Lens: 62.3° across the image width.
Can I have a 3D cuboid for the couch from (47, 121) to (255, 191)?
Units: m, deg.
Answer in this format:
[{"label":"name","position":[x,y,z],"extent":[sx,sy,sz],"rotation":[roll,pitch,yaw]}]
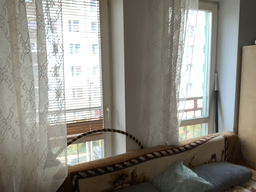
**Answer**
[{"label":"couch","position":[0.580,0.830,1.610],"extent":[2.080,0.810,0.930],"rotation":[-5,10,-28]}]
